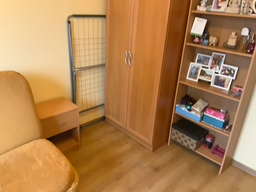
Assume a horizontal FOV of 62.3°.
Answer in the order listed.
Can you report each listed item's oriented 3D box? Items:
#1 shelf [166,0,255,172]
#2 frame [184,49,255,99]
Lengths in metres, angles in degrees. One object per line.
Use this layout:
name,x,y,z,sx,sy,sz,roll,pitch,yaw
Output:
shelf,0.800,-0.200,1.950,0.260,1.730,0.630,-18,32,-41
frame,0.810,-0.220,1.960,0.120,0.310,0.550,-18,32,-41
